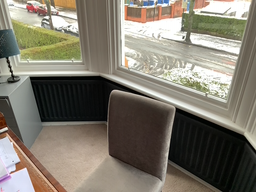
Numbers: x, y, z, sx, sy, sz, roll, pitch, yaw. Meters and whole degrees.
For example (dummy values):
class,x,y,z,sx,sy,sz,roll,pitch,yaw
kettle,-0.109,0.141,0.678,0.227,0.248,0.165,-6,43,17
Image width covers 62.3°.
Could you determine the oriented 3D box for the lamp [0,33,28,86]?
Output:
class,x,y,z,sx,sy,sz,roll,pitch,yaw
lamp,-1.120,-0.340,1.960,0.200,0.430,0.230,-1,29,-2
